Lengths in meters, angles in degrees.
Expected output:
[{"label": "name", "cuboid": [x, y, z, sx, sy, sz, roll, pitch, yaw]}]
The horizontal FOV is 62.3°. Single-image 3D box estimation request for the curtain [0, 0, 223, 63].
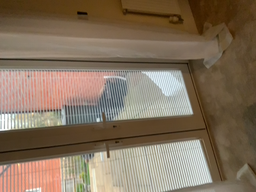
[{"label": "curtain", "cuboid": [-0.260, -0.500, 1.600, 0.200, 2.210, 0.420, 132, 131, -61]}]
